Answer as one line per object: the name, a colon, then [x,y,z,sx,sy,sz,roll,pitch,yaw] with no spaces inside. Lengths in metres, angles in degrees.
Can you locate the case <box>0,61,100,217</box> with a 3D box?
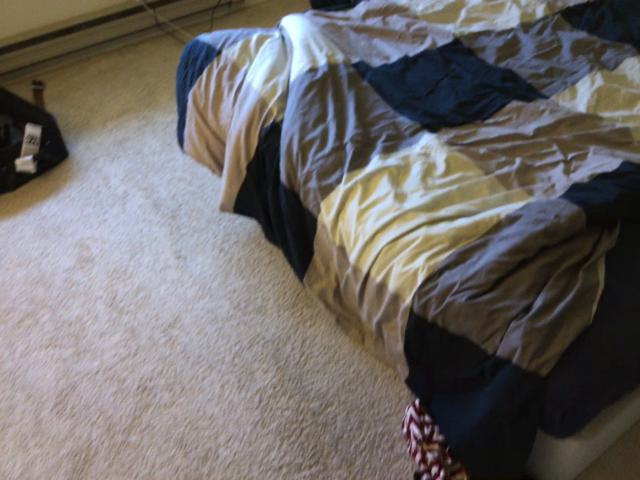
case: [-1.350,-0.320,2.110,0.690,0.190,0.760,33,55,29]

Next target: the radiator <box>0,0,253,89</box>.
radiator: [-1.040,-0.970,2.670,1.630,0.200,0.100,-29,52,-24]

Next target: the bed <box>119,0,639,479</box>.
bed: [0.790,-0.450,1.910,2.180,0.560,1.770,-29,52,-24]
